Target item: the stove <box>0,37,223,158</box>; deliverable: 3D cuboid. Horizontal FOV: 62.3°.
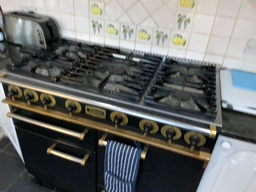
[{"bbox_3d":[-0.050,-0.080,1.220,1.050,0.190,0.600,13,33,13],"label":"stove"}]
